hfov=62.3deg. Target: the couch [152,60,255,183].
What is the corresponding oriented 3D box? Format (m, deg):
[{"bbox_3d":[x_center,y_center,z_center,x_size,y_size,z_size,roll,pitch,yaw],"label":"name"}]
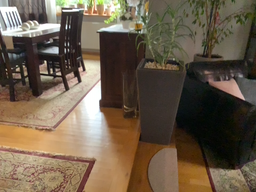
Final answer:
[{"bbox_3d":[1.120,0.130,2.530,1.100,0.750,1.310,-8,25,-22],"label":"couch"}]
